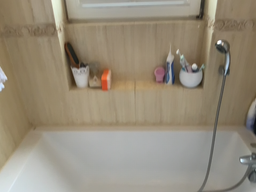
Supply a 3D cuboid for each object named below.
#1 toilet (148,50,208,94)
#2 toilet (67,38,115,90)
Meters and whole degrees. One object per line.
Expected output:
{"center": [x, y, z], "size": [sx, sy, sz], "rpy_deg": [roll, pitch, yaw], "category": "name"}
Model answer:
{"center": [0.300, -0.150, 1.340], "size": [0.330, 0.250, 0.110], "rpy_deg": [-1, 30, 1], "category": "toilet"}
{"center": [-0.220, -0.200, 1.330], "size": [0.250, 0.290, 0.130], "rpy_deg": [-1, 30, 1], "category": "toilet"}
